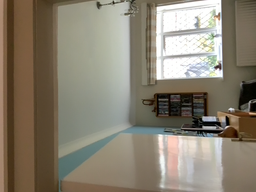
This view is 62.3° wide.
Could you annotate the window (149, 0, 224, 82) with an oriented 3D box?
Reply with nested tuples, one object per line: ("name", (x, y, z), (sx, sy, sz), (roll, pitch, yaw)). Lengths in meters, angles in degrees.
("window", (1.210, -1.150, 4.520), (0.370, 1.450, 1.610), (8, -99, -73))
